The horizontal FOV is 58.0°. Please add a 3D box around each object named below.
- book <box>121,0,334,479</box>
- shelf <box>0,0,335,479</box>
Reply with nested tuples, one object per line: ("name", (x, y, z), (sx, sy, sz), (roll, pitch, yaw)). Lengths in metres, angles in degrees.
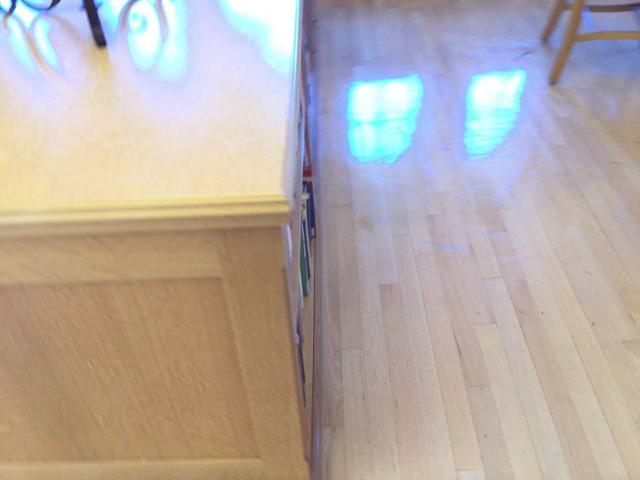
("book", (-0.080, -0.620, 1.900), (0.240, 0.700, 2.640), (0, 42, 2))
("shelf", (-0.390, -0.670, 1.830), (0.860, 0.870, 2.710), (0, 42, 2))
